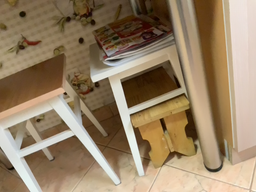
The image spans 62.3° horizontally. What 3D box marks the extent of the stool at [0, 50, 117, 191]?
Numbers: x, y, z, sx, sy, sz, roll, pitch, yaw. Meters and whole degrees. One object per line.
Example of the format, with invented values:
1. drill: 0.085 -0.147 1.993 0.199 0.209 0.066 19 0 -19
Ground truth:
1. stool: -0.280 0.130 0.820 0.300 0.450 0.310 -21 33 0

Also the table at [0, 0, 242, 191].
1. table: -0.280 0.010 0.740 1.020 0.750 0.600 -21 33 0
